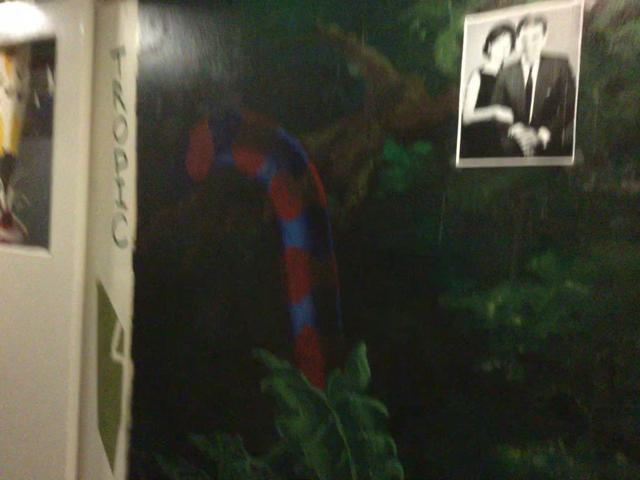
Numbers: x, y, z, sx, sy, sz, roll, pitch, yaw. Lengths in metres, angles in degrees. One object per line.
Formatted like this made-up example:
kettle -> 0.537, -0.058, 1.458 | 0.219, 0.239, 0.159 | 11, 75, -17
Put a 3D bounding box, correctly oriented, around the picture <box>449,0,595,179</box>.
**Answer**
picture -> 0.350, -0.270, 1.030 | 0.220, 0.300, 0.020 | 12, 13, 39
